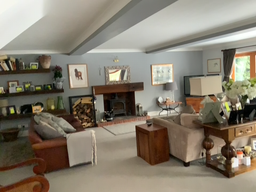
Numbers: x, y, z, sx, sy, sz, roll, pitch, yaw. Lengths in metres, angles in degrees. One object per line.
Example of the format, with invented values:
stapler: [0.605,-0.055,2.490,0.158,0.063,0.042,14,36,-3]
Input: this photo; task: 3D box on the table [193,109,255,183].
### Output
table: [1.880,0.680,3.340,1.730,0.750,0.490,-6,6,-24]

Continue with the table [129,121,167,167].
table: [0.340,0.810,3.760,0.380,0.600,0.610,-7,7,-27]

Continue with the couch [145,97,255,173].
couch: [1.630,0.580,4.070,2.330,0.830,1.050,-6,6,-24]

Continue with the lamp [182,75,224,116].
lamp: [1.130,-0.020,3.220,0.480,0.550,0.340,-6,6,-20]
